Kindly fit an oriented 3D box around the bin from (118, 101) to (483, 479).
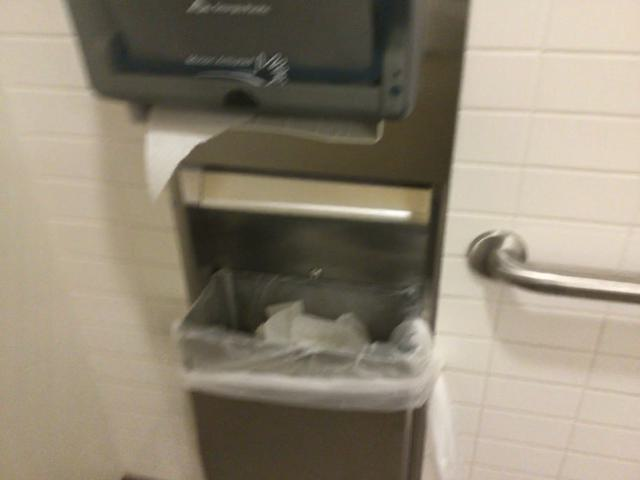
[{"bbox_3d":[-0.020,0.230,1.020,0.440,0.850,0.250,8,35,9],"label":"bin"}]
